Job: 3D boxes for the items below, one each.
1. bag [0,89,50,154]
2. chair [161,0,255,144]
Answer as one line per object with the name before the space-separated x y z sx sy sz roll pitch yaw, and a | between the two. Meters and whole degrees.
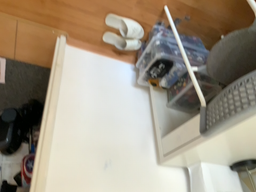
bag | -0.990 0.270 1.990 0.360 0.350 0.570 12 144 -23
chair | 0.490 -0.240 0.960 0.430 0.780 0.390 12 144 -23
